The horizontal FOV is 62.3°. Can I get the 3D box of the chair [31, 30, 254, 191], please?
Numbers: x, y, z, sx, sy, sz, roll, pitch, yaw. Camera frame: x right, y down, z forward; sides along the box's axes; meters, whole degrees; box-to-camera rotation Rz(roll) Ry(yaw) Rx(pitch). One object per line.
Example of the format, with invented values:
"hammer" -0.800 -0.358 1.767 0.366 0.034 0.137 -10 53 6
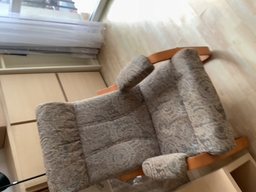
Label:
"chair" 0.060 0.170 1.390 0.790 1.020 0.750 -32 70 49
